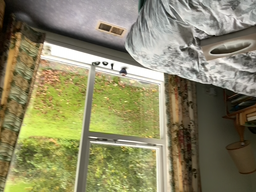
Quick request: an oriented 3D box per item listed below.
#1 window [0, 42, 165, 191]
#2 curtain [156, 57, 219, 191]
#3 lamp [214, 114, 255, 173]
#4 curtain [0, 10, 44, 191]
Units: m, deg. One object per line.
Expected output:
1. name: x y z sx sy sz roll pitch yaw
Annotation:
1. window: -0.520 0.560 2.190 1.930 2.030 0.180 9 157 -19
2. curtain: 0.620 0.660 2.240 0.560 2.260 0.190 9 157 -18
3. lamp: 1.260 0.540 2.350 0.370 0.570 0.340 10 157 -20
4. curtain: -1.080 0.310 1.590 0.490 2.230 0.170 8 157 -17
